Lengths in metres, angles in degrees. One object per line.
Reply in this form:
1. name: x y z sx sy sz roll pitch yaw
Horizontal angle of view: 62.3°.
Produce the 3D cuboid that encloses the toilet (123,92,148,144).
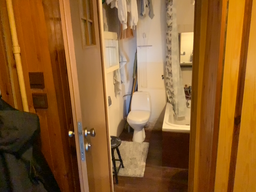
1. toilet: 0.150 0.350 3.550 0.320 0.700 0.560 1 15 10
